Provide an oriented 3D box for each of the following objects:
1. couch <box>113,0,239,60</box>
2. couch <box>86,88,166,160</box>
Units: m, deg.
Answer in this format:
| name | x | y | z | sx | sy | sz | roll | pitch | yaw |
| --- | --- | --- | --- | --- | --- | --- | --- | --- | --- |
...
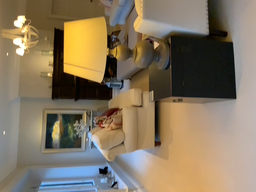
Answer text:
| name | x | y | z | sx | sy | sz | roll | pitch | yaw |
| --- | --- | --- | --- | --- | --- | --- | --- | --- | --- |
| couch | 0.380 | -0.900 | 2.130 | 0.910 | 0.900 | 0.800 | 163 | 108 | -74 |
| couch | -0.220 | 0.530 | 4.130 | 2.310 | 0.980 | 0.970 | 155 | 116 | -73 |
